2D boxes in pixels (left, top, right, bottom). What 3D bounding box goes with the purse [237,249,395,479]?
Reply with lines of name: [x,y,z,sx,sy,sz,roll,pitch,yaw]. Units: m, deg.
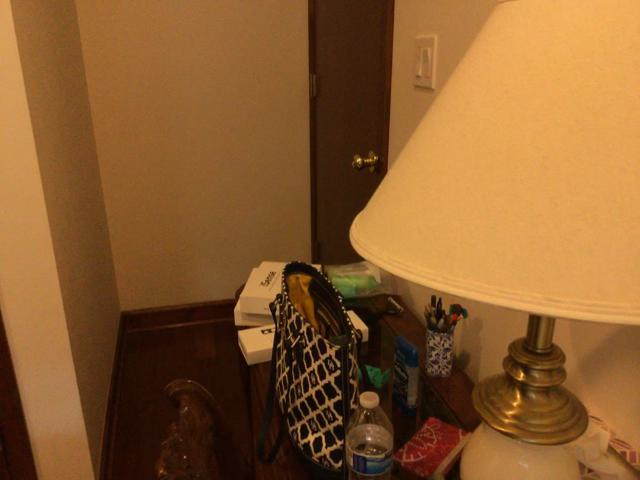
purse: [-0.030,0.240,0.980,0.170,0.320,0.380,-4,22,-13]
